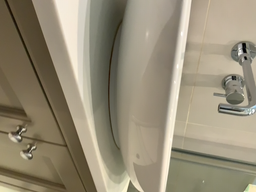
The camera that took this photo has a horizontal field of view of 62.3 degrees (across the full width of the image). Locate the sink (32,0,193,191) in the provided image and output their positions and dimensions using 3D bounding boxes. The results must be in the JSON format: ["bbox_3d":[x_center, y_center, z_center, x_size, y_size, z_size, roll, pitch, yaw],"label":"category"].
[{"bbox_3d":[0.050,-0.010,0.460,0.400,0.120,0.590,-68,161,-45],"label":"sink"}]
